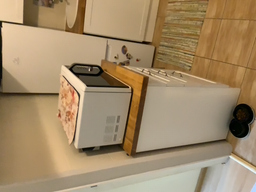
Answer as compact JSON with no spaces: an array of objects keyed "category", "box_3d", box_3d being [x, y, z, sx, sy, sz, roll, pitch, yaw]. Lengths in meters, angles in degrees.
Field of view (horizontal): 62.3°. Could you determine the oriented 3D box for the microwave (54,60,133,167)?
[{"category":"microwave","box_3d":[-0.270,0.070,1.400,0.550,0.290,0.490,34,119,55]}]
